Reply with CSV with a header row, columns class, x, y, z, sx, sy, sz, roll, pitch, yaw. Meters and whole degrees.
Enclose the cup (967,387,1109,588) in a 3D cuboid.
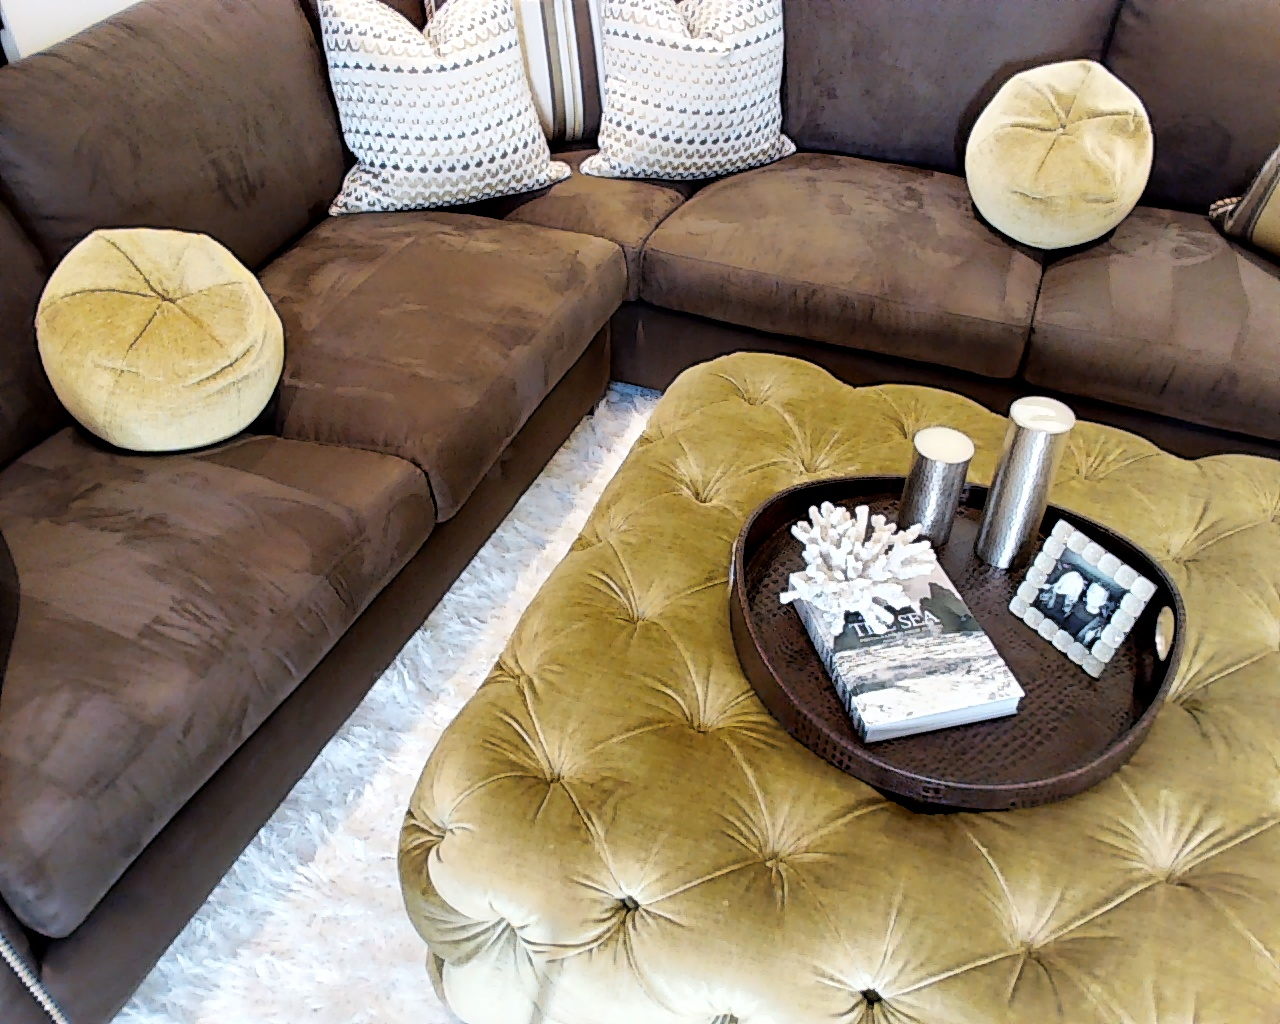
class,x,y,z,sx,sy,sz,roll,pitch,yaw
cup,0.520,-0.030,1.410,0.120,0.230,0.100,13,42,15
